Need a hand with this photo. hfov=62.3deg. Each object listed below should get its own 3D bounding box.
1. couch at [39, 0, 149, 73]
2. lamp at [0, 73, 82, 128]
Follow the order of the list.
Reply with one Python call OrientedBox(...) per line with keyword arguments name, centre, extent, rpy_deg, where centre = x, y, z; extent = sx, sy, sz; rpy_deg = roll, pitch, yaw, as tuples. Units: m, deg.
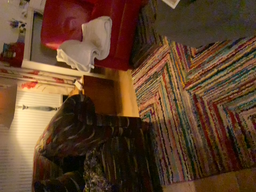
OrientedBox(name="couch", centre=(-0.380, -0.710, 2.200), extent=(0.780, 0.790, 0.790), rpy_deg=(14, 95, 58))
OrientedBox(name="lamp", centre=(-1.000, 0.080, 2.280), extent=(0.410, 0.880, 0.390), rpy_deg=(-37, 53, 48))
